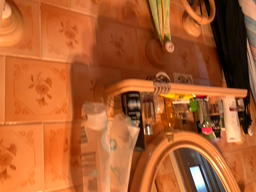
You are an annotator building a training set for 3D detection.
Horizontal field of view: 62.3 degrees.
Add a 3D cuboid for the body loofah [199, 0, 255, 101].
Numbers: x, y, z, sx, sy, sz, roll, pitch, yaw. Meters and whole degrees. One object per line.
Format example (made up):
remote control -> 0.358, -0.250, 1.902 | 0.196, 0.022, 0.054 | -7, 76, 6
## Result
body loofah -> 0.460, -0.410, 0.960 | 0.260, 0.850, 0.130 | 2, 168, -34
